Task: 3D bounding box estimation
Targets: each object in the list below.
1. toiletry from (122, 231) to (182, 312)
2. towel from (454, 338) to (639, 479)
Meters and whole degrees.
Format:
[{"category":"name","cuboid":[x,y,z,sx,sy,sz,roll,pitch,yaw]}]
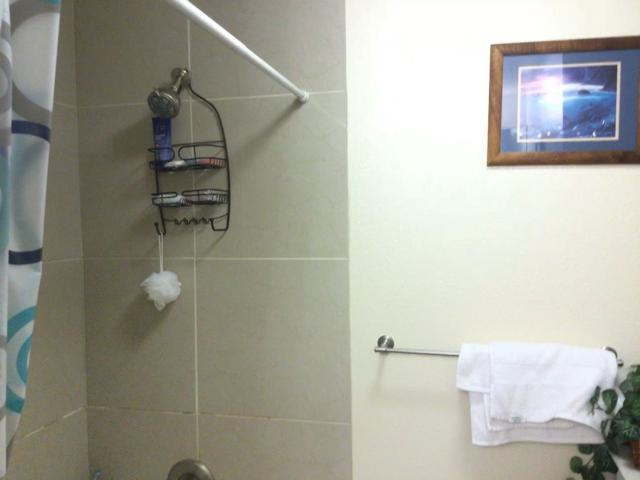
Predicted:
[{"category":"toiletry","cuboid":[-0.540,0.100,1.860,0.170,0.250,0.070,-1,0,17]},{"category":"towel","cuboid":[0.580,0.430,1.510,0.430,0.300,0.200,-1,0,17]}]
